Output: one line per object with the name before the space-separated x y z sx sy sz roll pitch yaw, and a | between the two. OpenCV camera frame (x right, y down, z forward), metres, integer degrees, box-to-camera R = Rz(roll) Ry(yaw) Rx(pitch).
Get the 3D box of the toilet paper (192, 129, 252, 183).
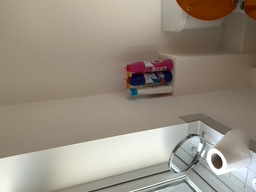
toilet paper | 0.320 0.200 0.740 0.140 0.120 0.110 -152 58 -65
